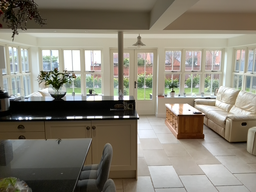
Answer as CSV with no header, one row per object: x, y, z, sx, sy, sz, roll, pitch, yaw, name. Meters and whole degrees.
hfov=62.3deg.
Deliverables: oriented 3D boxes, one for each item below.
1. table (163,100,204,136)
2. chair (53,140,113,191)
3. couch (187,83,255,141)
1.270,0.480,5.090,0.600,0.540,1.190,-1,9,-4,table
-0.340,0.870,1.810,0.410,0.870,0.400,-1,9,-2,chair
2.350,0.260,5.230,1.040,0.950,2.030,-1,9,-6,couch
